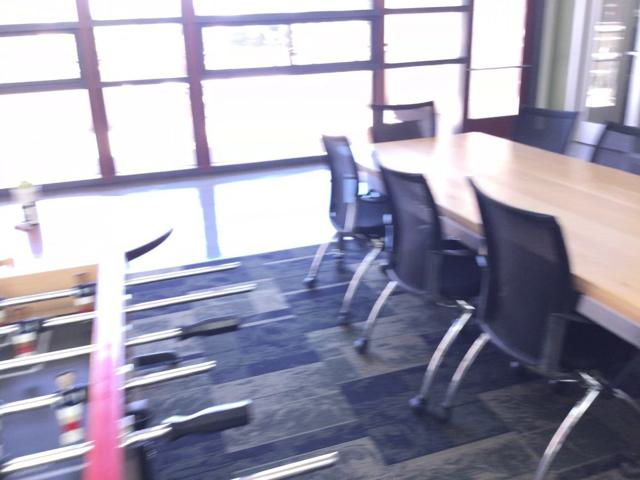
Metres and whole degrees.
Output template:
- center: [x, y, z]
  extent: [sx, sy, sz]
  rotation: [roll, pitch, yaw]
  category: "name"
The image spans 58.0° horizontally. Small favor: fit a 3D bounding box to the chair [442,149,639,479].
- center: [0.780, 0.240, 1.850]
  extent: [0.560, 0.890, 0.570]
  rotation: [-10, 22, -14]
  category: "chair"
